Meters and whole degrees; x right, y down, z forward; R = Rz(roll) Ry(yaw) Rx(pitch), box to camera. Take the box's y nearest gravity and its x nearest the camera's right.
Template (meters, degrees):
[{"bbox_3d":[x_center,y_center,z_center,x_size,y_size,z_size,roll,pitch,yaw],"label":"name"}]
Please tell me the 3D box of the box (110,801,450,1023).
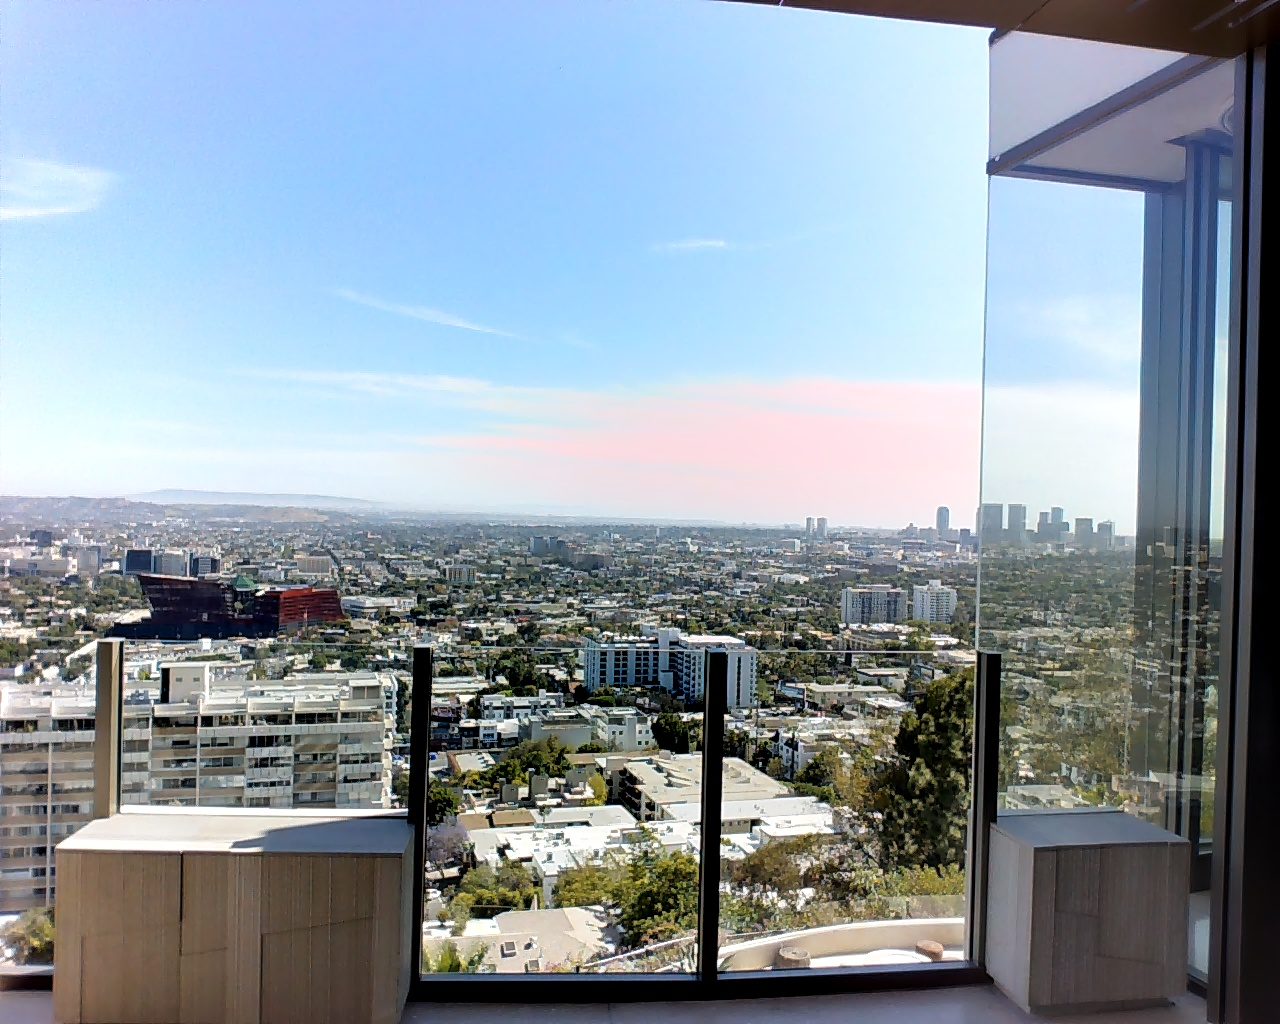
[{"bbox_3d":[-1.020,1.190,3.140,0.870,0.590,0.350,1,0,-3],"label":"box"}]
